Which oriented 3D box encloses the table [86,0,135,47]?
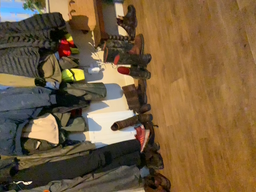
[{"bbox_3d":[-0.260,-1.190,2.590,0.260,0.450,1.140,150,113,-65],"label":"table"}]
